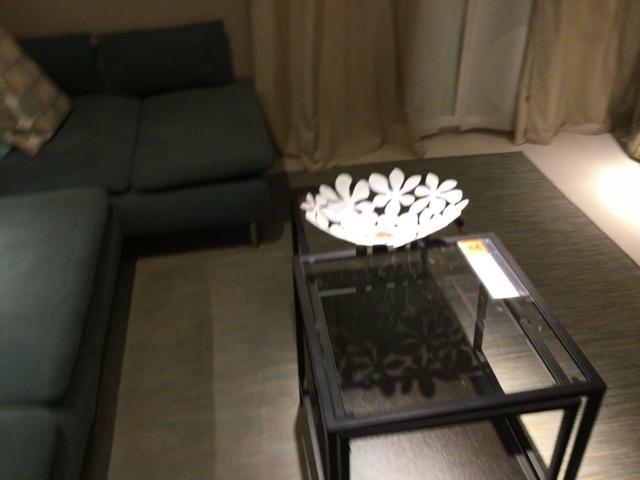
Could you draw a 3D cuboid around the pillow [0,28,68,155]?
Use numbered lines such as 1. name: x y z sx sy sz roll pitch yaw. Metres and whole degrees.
1. pillow: -1.120 -0.530 2.080 0.260 0.380 0.200 -7 32 -4
